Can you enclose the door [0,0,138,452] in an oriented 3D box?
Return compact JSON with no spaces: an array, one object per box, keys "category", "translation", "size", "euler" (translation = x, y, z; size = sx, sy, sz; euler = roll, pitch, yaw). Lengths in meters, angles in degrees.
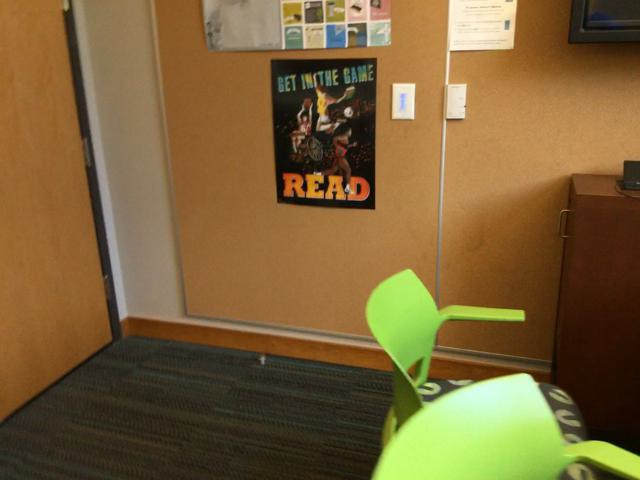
[{"category":"door","translation":[-1.190,-0.100,2.230],"size":[0.200,1.640,1.010],"euler":[3,14,19]}]
